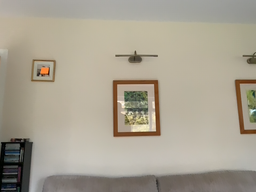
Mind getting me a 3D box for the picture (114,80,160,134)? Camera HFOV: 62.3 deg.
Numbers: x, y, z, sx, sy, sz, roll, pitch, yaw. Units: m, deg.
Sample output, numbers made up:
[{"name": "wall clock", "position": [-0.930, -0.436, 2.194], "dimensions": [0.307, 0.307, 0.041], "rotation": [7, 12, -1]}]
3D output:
[{"name": "picture", "position": [0.090, 0.110, 2.120], "dimensions": [0.450, 0.530, 0.030], "rotation": [1, -10, -5]}]
